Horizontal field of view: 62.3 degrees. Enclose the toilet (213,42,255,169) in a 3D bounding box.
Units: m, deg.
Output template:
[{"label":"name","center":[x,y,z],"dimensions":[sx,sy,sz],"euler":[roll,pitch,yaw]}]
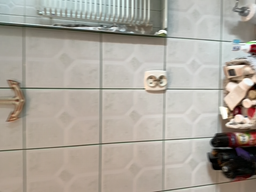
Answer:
[{"label":"toilet","center":[0.480,0.030,0.830],"dimensions":[0.180,0.200,0.430],"euler":[-173,83,-74]}]
